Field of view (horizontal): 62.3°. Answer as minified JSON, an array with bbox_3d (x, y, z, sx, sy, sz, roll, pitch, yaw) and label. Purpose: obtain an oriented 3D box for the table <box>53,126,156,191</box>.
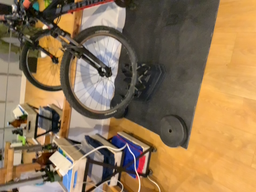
[{"bbox_3d":[-0.190,0.500,1.780,0.460,0.690,0.290,21,106,47],"label":"table"}]
